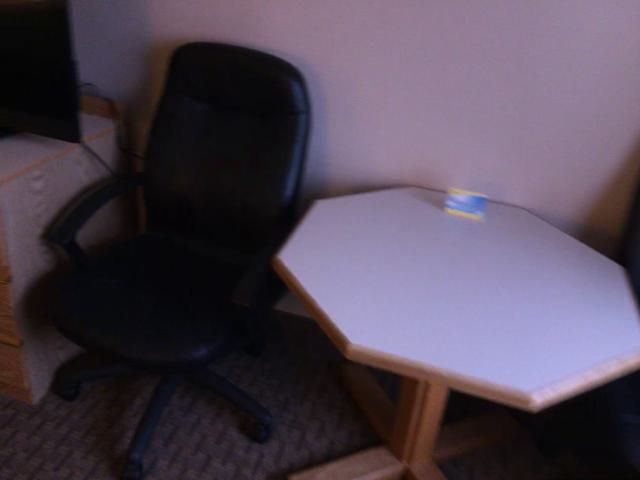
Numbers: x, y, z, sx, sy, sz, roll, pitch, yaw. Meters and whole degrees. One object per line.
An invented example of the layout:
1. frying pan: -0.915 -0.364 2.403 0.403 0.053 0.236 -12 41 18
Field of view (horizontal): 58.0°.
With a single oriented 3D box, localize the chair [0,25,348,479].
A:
1. chair: -0.410 0.030 1.640 0.700 1.030 0.750 13 28 8
